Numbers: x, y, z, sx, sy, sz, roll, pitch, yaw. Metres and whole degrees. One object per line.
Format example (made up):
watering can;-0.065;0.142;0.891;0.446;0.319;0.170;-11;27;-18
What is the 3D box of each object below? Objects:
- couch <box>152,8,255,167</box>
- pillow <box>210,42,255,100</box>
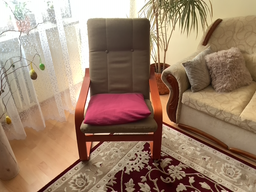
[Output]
couch;1.340;-0.030;1.800;1.960;0.910;1.020;25;41;31
pillow;0.970;-0.230;1.960;0.150;0.270;0.450;31;68;20
